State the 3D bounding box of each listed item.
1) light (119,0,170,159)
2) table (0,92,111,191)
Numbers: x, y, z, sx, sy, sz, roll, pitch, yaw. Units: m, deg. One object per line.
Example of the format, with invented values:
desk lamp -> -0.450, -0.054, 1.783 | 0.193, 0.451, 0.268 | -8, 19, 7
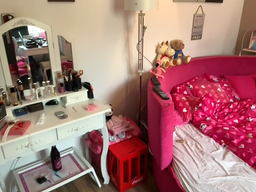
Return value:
light -> 0.120, -0.220, 2.030 | 0.240, 1.660, 0.400 | -13, 27, -29
table -> -0.630, 0.480, 1.710 | 0.850, 0.760, 0.450 | -15, 28, -33
